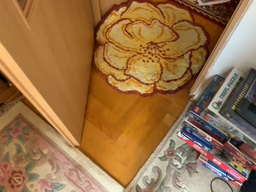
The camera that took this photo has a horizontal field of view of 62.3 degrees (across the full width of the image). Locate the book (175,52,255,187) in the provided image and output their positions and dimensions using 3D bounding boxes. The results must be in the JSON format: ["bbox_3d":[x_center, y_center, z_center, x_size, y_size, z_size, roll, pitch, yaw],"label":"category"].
[{"bbox_3d":[0.520,0.150,0.990,0.400,0.520,0.290,36,68,16],"label":"book"}]
